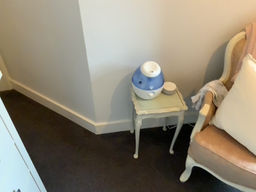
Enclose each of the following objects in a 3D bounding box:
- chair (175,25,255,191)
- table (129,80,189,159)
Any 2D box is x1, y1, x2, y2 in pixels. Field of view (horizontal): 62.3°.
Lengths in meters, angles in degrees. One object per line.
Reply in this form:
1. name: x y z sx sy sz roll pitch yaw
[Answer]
1. chair: 0.760 0.180 1.280 0.680 0.850 0.750 15 44 15
2. table: 0.190 0.180 1.550 0.330 0.500 0.280 -5 42 -7
